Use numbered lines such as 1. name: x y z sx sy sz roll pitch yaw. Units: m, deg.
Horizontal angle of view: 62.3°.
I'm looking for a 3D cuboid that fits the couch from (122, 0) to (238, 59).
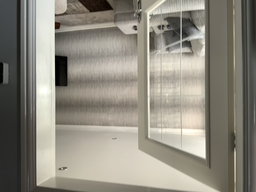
1. couch: 0.740 -1.150 3.020 1.060 0.860 2.140 0 180 16
